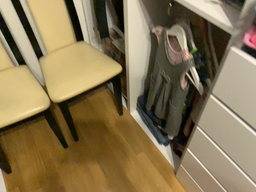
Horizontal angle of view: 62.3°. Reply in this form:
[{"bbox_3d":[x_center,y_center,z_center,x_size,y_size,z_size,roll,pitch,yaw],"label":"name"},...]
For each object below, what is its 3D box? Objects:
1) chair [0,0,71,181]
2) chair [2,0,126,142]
[{"bbox_3d":[-0.740,-0.090,1.130,0.460,1.050,0.570,-26,56,-20],"label":"chair"},{"bbox_3d":[-0.360,-0.290,1.290,0.450,1.050,0.560,-26,56,-20],"label":"chair"}]
